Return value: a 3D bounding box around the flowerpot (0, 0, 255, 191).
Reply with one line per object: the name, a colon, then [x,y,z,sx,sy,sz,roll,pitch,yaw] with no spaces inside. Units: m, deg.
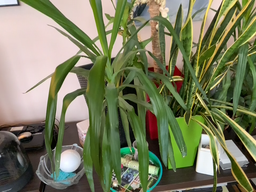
flowerpot: [0.260,-0.040,0.900,1.110,1.150,0.690,-5,30,-4]
